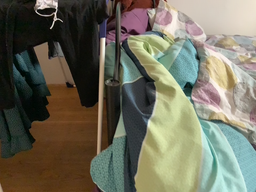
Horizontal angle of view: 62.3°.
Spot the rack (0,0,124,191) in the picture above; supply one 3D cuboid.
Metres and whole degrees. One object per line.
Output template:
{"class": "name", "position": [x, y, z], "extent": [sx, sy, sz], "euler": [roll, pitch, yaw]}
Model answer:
{"class": "rack", "position": [-0.380, -0.220, 1.380], "extent": [0.660, 0.890, 1.260], "euler": [1, 31, 1]}

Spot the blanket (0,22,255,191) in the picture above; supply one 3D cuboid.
{"class": "blanket", "position": [0.140, 0.050, 0.750], "extent": [0.720, 0.420, 0.830], "euler": [1, 31, 1]}
